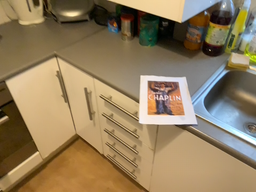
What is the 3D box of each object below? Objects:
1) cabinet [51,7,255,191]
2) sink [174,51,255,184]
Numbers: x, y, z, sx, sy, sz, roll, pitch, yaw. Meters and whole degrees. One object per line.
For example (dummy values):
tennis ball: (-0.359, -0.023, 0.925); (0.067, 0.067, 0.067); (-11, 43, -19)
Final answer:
cabinet: (0.350, 0.140, 1.380); (1.270, 0.890, 0.860); (29, 49, 28)
sink: (0.540, 0.050, 0.960); (0.400, 0.170, 0.570); (29, 49, 28)
